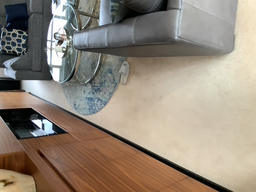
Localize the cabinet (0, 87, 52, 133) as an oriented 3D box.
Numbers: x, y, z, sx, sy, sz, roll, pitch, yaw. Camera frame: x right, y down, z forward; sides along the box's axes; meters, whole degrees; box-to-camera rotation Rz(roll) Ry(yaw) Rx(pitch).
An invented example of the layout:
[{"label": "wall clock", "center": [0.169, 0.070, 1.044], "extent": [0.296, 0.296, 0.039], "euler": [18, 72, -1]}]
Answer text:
[{"label": "cabinet", "center": [-2.300, 0.200, 4.220], "extent": [1.610, 0.970, 0.520], "euler": [15, 102, 49]}]
